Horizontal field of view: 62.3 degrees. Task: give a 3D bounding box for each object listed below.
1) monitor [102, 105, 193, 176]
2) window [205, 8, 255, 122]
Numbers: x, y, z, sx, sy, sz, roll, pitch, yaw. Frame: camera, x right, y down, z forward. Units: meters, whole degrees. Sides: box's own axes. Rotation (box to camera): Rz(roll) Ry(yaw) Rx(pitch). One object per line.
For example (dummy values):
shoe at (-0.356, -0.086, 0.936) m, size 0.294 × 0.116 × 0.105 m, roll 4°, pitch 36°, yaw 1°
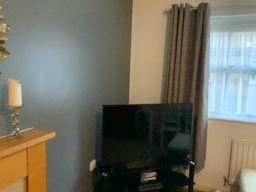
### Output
monitor at (0.220, 0.420, 2.110) m, size 0.960 × 0.630 × 0.040 m, roll -1°, pitch 7°, yaw -21°
window at (1.830, -0.300, 2.200) m, size 1.850 × 1.240 × 0.080 m, roll 4°, pitch 7°, yaw 21°
